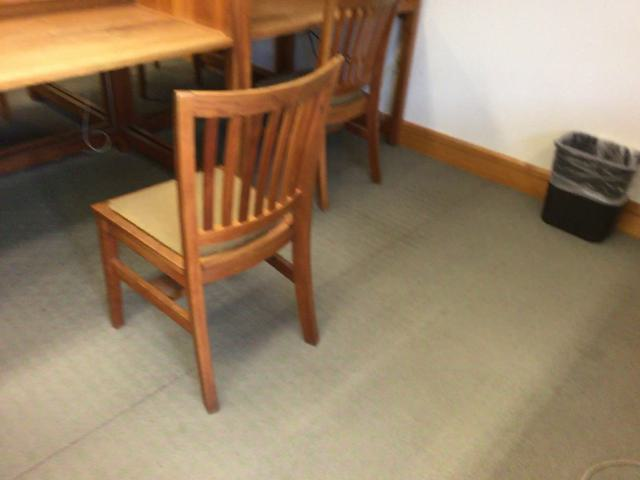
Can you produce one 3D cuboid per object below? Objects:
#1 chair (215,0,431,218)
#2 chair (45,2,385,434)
[{"bbox_3d":[-0.010,-0.710,2.660,0.590,0.950,0.620,30,32,32],"label":"chair"},{"bbox_3d":[-0.340,-0.110,1.700,0.650,0.960,0.580,30,32,32],"label":"chair"}]
